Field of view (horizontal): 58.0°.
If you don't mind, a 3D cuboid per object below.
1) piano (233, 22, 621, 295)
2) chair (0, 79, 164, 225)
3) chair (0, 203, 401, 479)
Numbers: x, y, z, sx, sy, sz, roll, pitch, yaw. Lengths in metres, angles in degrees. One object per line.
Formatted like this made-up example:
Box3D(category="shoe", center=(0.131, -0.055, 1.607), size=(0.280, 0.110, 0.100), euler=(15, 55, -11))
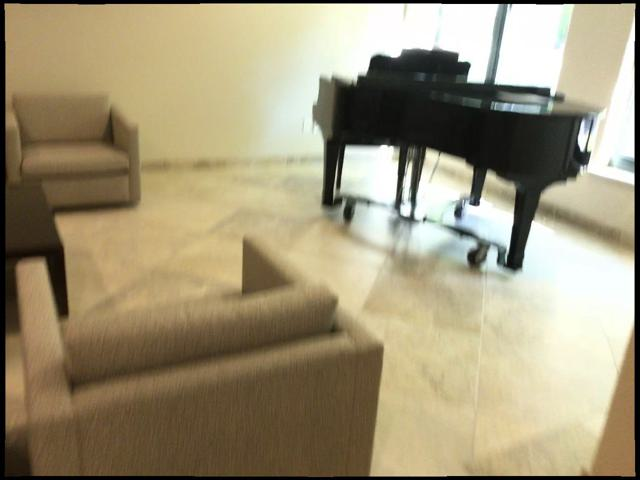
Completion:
Box3D(category="piano", center=(0.549, -0.832, 4.450), size=(1.618, 1.322, 2.420), euler=(-7, 26, -28))
Box3D(category="chair", center=(-1.866, -0.711, 4.280), size=(1.108, 0.761, 1.090), euler=(-8, 26, -29))
Box3D(category="chair", center=(-0.429, 0.411, 1.740), size=(0.899, 0.721, 0.880), euler=(-8, 26, -29))
